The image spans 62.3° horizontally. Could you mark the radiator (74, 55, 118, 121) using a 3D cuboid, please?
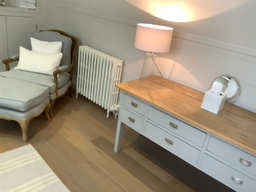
[{"bbox_3d":[-0.490,-0.140,3.020,0.130,0.700,0.760,-13,33,-43],"label":"radiator"}]
